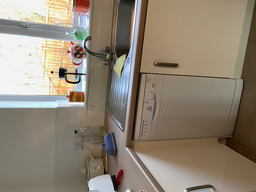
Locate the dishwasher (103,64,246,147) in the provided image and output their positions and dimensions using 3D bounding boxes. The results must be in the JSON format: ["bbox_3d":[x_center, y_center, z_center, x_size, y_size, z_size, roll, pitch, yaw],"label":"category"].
[{"bbox_3d":[0.330,0.030,1.720,0.580,0.910,0.470,-147,60,-65],"label":"dishwasher"}]

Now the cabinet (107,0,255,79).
[{"bbox_3d":[0.380,-0.490,1.610,0.580,0.910,0.600,-147,60,-65],"label":"cabinet"}]
